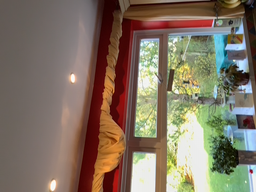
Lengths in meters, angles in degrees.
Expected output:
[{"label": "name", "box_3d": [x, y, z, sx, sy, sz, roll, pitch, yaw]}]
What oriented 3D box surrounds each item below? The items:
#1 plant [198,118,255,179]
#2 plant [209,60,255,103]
[{"label": "plant", "box_3d": [0.840, 0.450, 1.780, 0.400, 0.410, 0.420, 69, -156, -67]}, {"label": "plant", "box_3d": [0.930, -0.130, 1.940, 0.270, 0.290, 0.300, 69, -156, -67]}]
